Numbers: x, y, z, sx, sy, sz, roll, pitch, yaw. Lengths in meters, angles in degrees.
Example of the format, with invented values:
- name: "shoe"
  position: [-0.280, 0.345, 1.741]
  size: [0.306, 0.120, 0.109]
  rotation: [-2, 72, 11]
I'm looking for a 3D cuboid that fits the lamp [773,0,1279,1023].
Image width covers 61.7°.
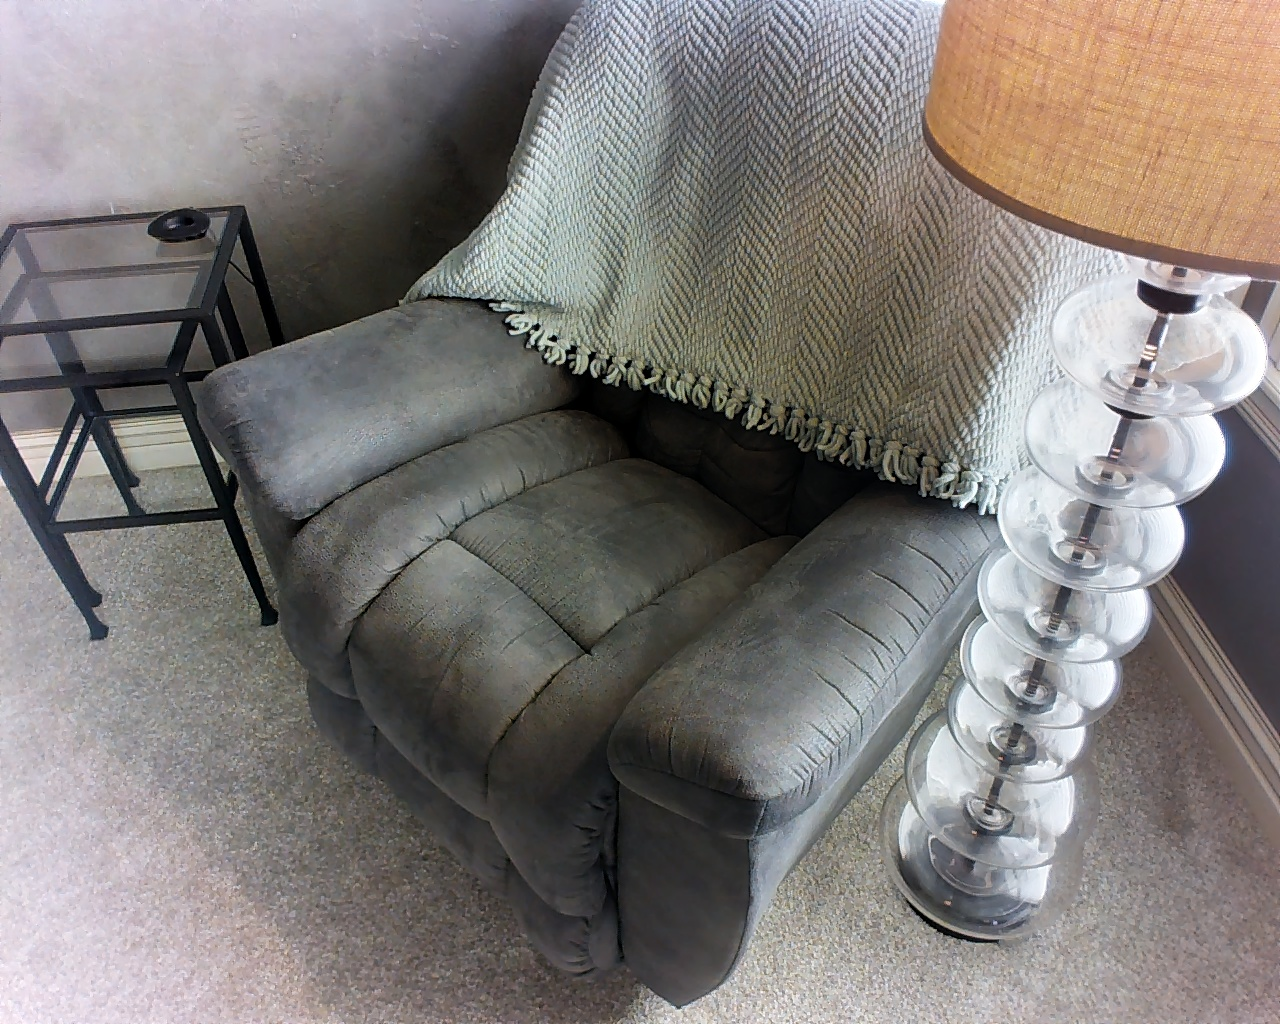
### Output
- name: "lamp"
  position: [0.390, 0.020, 1.080]
  size: [0.320, 1.410, 0.420]
  rotation: [-8, 44, -6]

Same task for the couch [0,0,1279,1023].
- name: "couch"
  position: [0.110, -0.090, 1.500]
  size: [1.080, 1.050, 1.140]
  rotation: [29, 52, 28]
